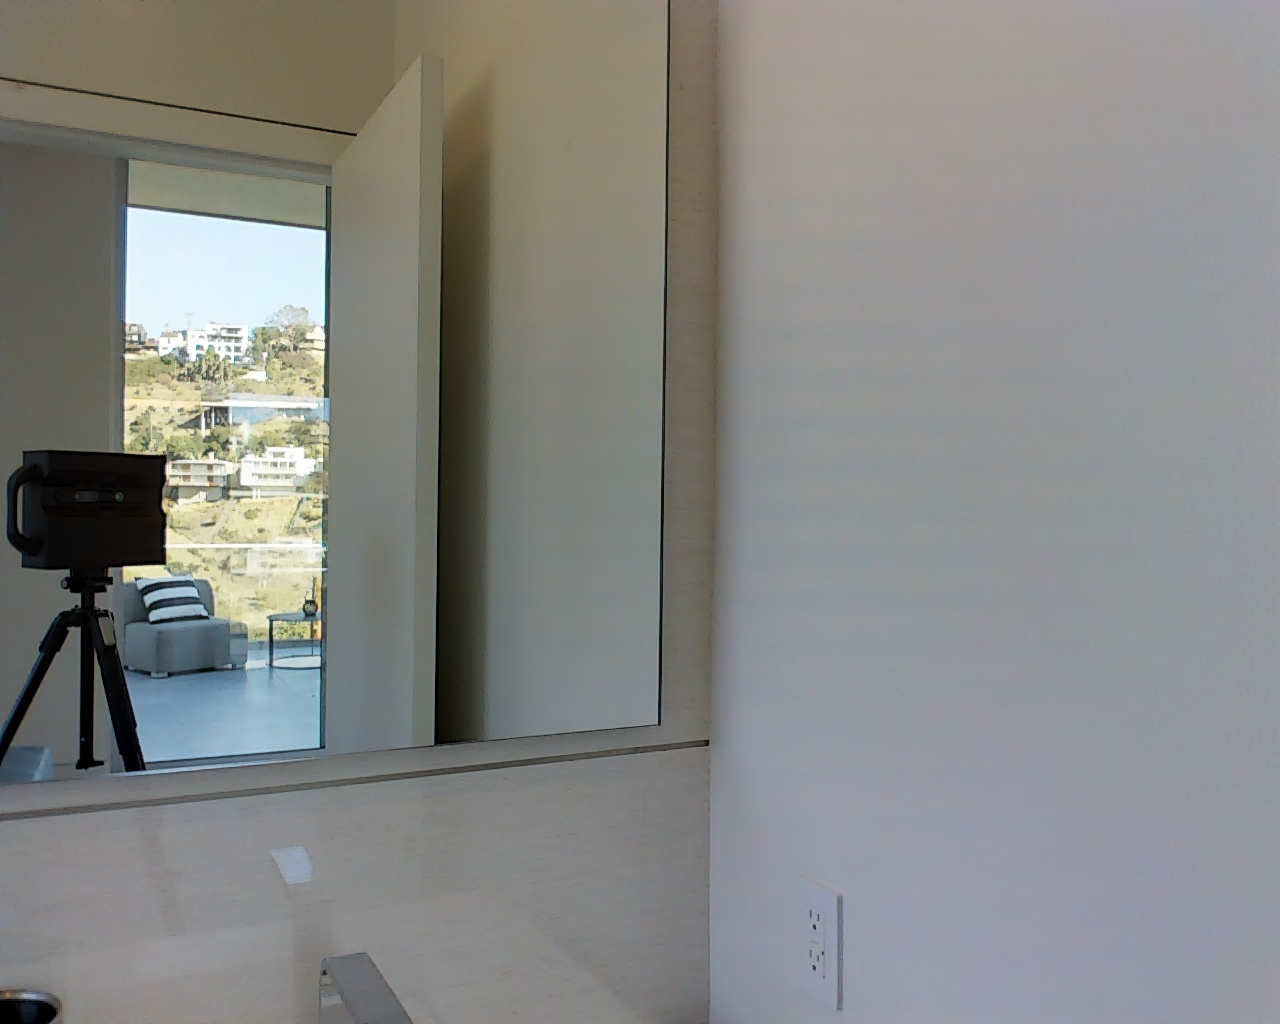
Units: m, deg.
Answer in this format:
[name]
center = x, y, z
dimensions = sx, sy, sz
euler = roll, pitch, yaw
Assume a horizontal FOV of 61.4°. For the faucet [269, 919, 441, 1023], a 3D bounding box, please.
[faucet]
center = -0.290, 0.540, 1.100
dimensions = 0.160, 0.200, 0.060
euler = 0, 0, -29
